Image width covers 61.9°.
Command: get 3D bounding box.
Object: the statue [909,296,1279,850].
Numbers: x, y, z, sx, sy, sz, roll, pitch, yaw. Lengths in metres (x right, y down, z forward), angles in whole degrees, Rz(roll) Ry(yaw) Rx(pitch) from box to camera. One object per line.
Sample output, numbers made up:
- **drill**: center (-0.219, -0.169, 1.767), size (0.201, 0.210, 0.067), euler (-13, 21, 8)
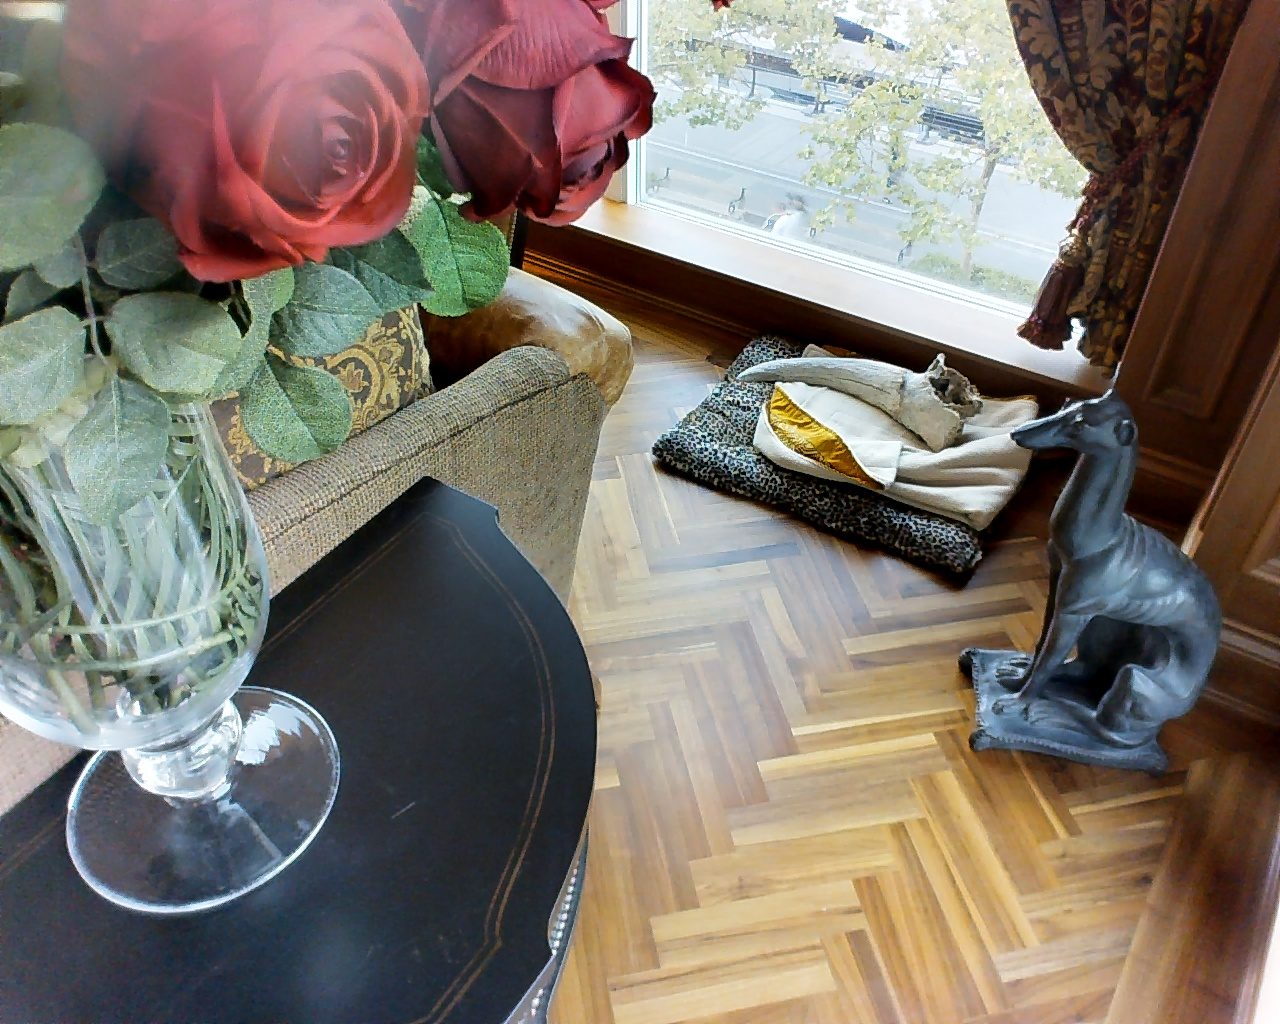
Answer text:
- **statue**: center (0.710, 0.100, 1.600), size (0.390, 0.670, 0.340), euler (24, 46, 24)
